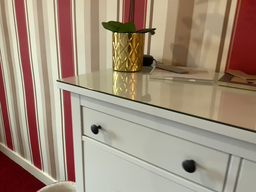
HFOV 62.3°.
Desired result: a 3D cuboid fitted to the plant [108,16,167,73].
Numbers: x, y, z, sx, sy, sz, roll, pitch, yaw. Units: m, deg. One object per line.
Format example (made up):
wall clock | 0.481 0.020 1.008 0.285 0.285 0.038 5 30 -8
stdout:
plant | 0.040 -0.220 0.880 0.150 0.200 0.200 15 22 32
